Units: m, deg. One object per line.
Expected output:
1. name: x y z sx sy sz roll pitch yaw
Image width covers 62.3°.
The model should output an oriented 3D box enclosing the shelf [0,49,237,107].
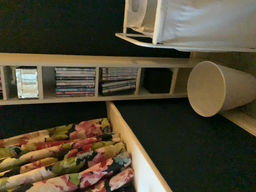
1. shelf: -0.300 -0.100 1.120 0.190 1.970 0.230 -128 40 -60

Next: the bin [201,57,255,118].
1. bin: 0.610 -0.060 1.190 0.250 0.240 0.270 -138 49 -64
